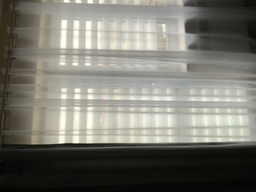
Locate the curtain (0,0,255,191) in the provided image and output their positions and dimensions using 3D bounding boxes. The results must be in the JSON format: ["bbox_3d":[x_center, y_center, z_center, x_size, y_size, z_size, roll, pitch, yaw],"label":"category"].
[{"bbox_3d":[0.180,-0.260,2.010,0.190,2.710,2.950,123,147,-78],"label":"curtain"}]
